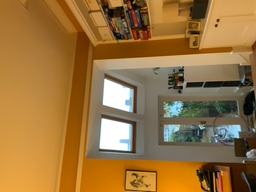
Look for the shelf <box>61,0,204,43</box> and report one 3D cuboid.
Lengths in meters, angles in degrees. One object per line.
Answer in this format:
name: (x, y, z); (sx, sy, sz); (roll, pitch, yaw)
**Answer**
shelf: (0.110, -1.310, 3.140); (1.290, 1.860, 0.300); (59, -149, -71)
